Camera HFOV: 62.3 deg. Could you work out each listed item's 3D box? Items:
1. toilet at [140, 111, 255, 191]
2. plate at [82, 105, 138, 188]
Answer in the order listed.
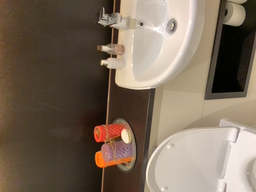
[{"bbox_3d":[0.560,0.350,0.890,0.530,0.850,0.380,25,114,56],"label":"toilet"},{"bbox_3d":[-0.100,0.220,1.010,0.260,0.150,0.280,27,115,55],"label":"plate"}]
